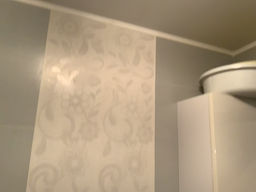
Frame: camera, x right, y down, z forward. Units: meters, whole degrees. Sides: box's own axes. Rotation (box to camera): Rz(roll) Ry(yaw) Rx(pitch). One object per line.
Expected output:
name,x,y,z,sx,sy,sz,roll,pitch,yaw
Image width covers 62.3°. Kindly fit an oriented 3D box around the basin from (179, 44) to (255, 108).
basin,0.640,-0.080,1.290,0.440,0.210,0.470,7,-14,-23
